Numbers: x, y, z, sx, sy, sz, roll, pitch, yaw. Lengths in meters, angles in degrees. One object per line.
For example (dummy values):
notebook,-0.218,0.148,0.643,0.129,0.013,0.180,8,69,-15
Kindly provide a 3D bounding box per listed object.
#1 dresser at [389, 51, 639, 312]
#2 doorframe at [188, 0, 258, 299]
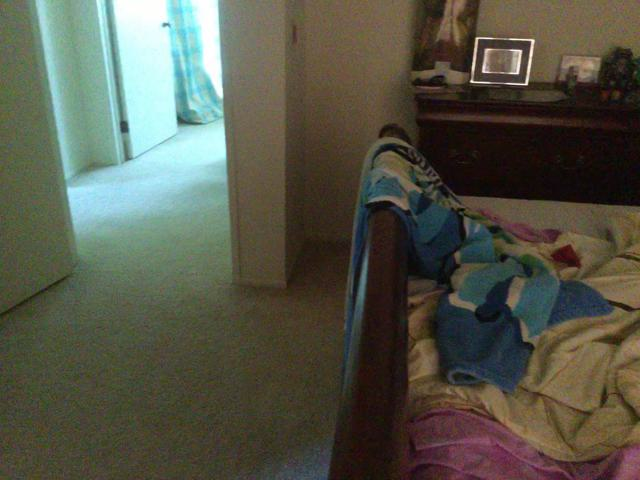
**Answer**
dresser,1.160,-0.250,2.480,1.640,0.950,0.500,4,25,6
doorframe,-0.370,-0.480,2.300,0.170,1.490,0.250,4,25,6
